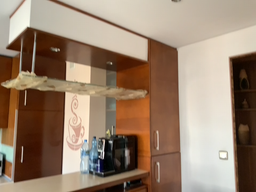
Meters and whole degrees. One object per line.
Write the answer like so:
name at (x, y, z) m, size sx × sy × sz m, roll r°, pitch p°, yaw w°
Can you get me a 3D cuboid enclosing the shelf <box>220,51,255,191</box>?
shelf at (1.660, 0.680, 2.700) m, size 0.340 × 2.460 × 0.740 m, roll 7°, pitch -9°, yaw -44°
